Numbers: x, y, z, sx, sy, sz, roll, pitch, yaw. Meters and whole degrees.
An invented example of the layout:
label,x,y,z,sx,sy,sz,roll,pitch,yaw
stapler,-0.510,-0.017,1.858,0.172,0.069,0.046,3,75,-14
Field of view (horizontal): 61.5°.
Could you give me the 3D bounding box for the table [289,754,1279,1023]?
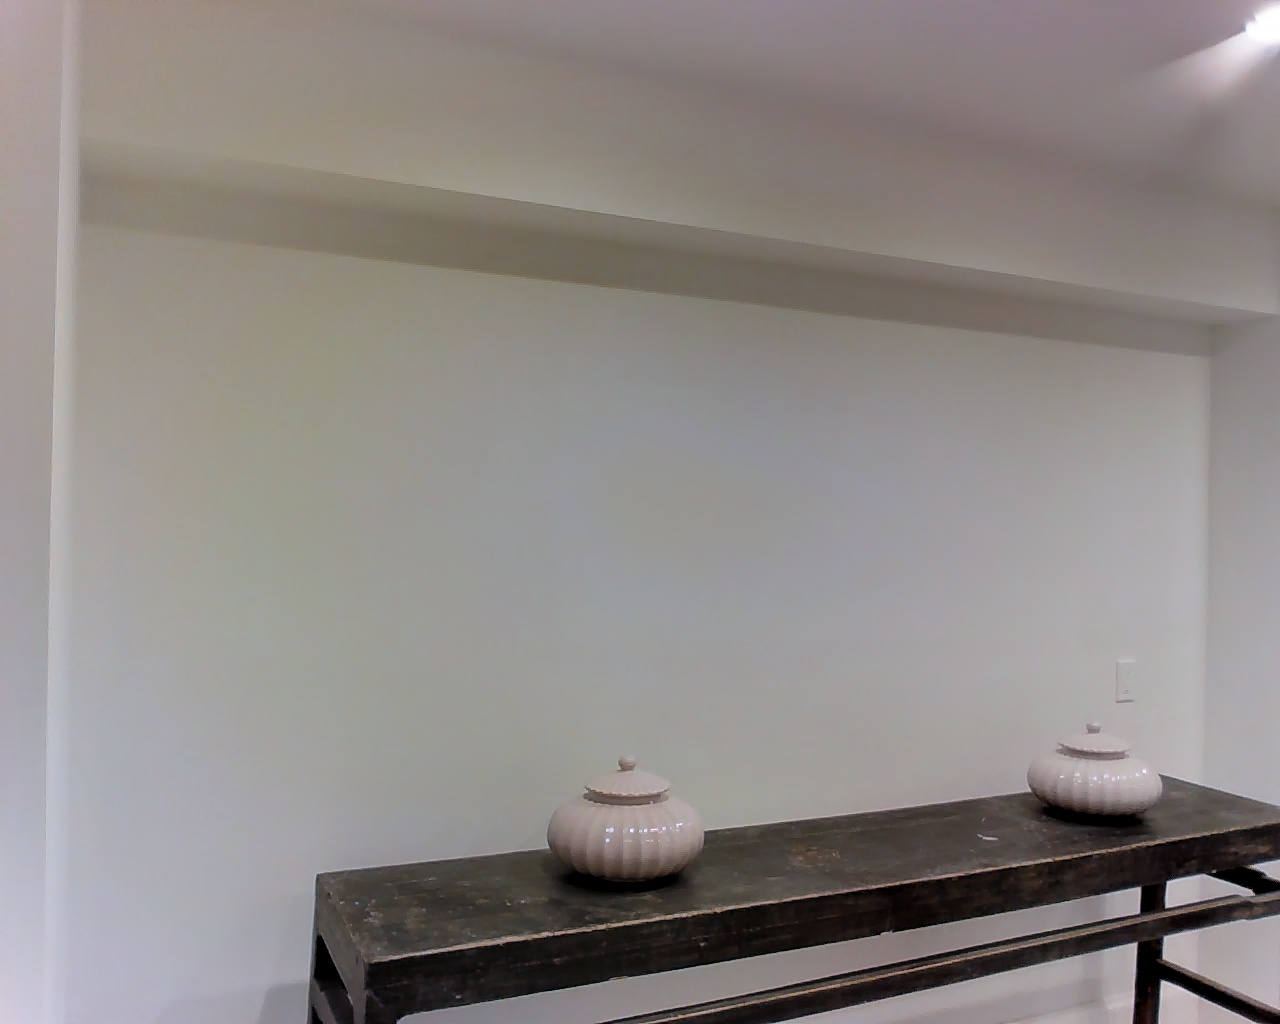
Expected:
label,x,y,z,sx,sy,sz,roll,pitch,yaw
table,0.500,1.110,2.320,2.340,0.870,0.590,1,0,-25
